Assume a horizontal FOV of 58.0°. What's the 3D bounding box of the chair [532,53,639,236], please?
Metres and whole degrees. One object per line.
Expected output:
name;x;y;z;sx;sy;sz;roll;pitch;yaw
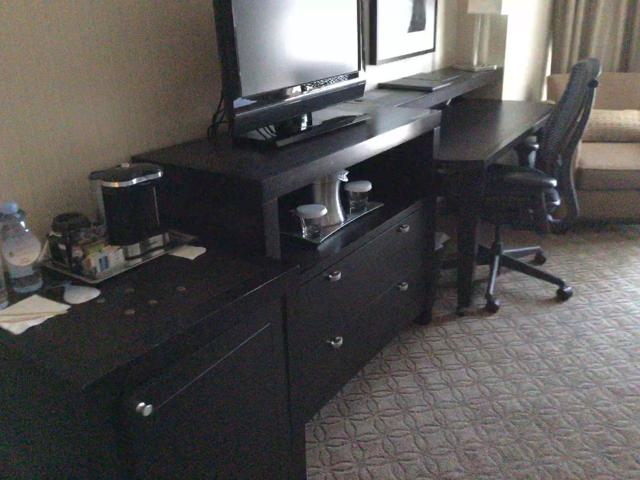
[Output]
chair;1.860;-0.630;3.530;0.890;0.880;1.050;-1;22;12

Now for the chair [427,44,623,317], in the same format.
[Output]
chair;0.890;-0.300;2.720;0.710;1.090;0.690;0;22;13

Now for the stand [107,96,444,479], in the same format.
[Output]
stand;-0.030;0.060;2.160;0.490;0.990;1.190;11;27;36
